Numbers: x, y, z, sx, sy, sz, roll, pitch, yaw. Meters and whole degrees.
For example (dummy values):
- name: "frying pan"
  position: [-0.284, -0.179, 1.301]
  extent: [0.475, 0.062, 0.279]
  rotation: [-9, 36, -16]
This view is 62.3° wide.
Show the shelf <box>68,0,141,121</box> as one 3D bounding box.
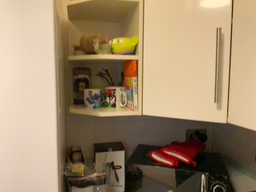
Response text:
- name: "shelf"
  position: [-0.130, -0.280, 0.980]
  extent: [0.270, 0.710, 0.380]
  rotation: [-1, 5, -14]
